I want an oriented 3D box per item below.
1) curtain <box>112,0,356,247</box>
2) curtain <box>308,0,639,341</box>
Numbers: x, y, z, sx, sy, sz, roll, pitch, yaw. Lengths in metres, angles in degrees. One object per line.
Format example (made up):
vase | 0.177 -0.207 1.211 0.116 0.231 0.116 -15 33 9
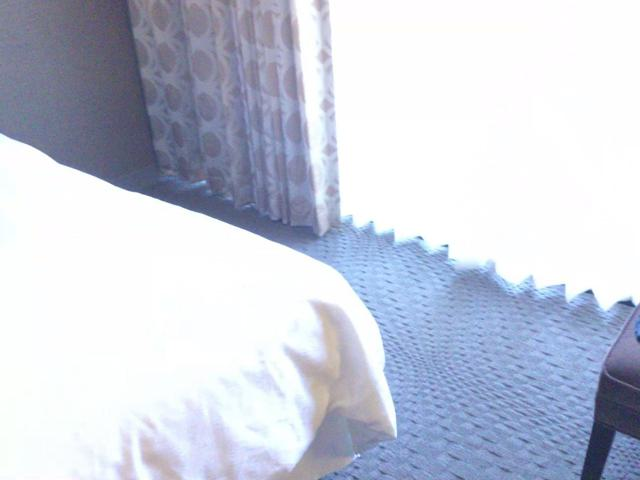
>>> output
curtain | -0.440 -1.110 2.500 1.190 2.090 0.310 17 33 36
curtain | 0.650 -0.670 1.910 1.550 1.810 0.280 17 33 36
